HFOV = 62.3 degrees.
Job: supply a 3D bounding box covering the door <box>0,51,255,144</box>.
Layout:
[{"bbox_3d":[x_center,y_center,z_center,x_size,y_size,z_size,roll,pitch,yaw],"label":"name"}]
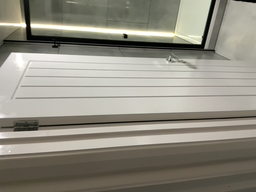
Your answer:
[{"bbox_3d":[0.350,-0.070,1.190,0.790,1.990,0.030,-115,28,-57],"label":"door"}]
